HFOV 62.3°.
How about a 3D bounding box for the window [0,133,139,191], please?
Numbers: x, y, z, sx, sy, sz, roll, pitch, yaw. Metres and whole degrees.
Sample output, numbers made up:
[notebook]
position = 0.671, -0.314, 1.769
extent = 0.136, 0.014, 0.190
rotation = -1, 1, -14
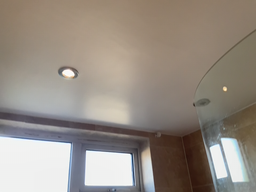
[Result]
[window]
position = -0.360, 0.810, 1.300
extent = 1.040, 1.090, 0.040
rotation = 13, -33, -28
